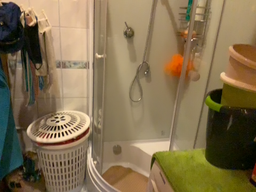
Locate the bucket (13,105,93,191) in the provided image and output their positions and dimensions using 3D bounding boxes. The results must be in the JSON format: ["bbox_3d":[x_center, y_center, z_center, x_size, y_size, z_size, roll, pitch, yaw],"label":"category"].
[{"bbox_3d":[-0.560,0.460,1.730,0.510,0.650,0.430,0,21,-12],"label":"bucket"}]

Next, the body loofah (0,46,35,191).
[{"bbox_3d":[-0.790,0.140,1.410,0.180,0.870,0.430,0,21,-12],"label":"body loofah"}]
